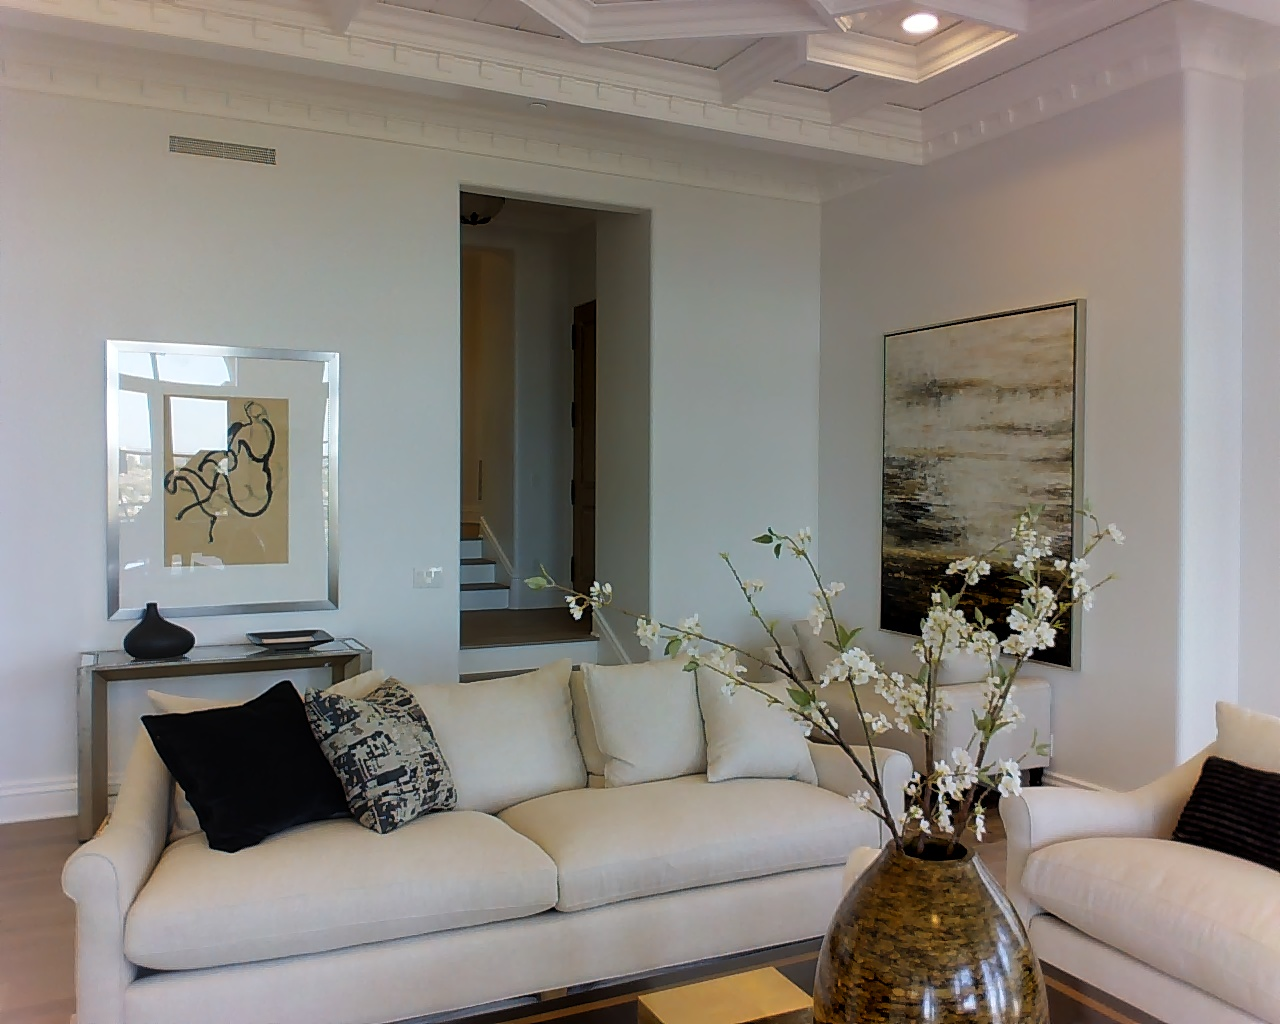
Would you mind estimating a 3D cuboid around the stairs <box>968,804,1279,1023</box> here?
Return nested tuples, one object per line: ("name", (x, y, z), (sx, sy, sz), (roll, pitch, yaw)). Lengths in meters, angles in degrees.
("stairs", (1.699, 1.430, 3.020), (0.910, 0.770, 1.200), (0, 2, -25))
